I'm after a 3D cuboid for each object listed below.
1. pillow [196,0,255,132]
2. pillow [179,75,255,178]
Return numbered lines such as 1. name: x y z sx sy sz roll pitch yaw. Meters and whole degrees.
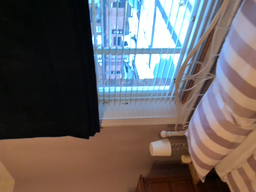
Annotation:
1. pillow: 0.610 -0.170 1.040 0.540 0.250 0.440 96 168 -46
2. pillow: 0.600 0.220 1.460 0.560 0.240 0.450 96 168 -46
